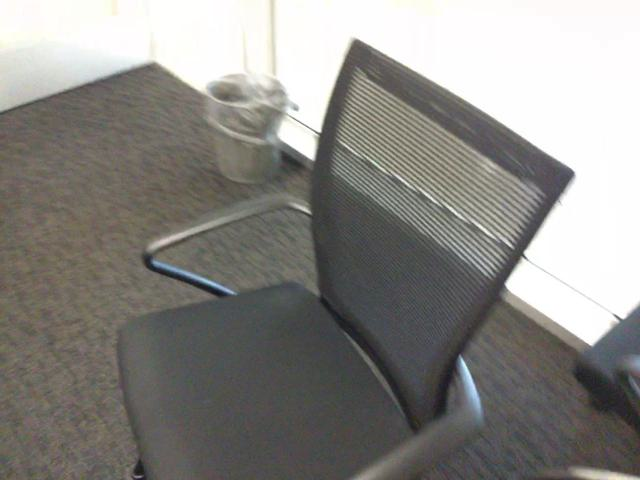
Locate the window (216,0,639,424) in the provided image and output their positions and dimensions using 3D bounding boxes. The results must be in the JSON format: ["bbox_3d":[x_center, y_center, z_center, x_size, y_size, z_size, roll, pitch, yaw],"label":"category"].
[{"bbox_3d":[0.400,-0.500,1.730,0.380,1.170,1.940,-26,47,-35],"label":"window"}]

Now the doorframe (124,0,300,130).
[{"bbox_3d":[-0.470,-1.580,2.230,0.270,2.040,1.000,-25,47,-36],"label":"doorframe"}]

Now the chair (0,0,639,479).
[{"bbox_3d":[-0.080,0.150,1.000,0.620,0.850,0.750,-17,42,-26],"label":"chair"}]
